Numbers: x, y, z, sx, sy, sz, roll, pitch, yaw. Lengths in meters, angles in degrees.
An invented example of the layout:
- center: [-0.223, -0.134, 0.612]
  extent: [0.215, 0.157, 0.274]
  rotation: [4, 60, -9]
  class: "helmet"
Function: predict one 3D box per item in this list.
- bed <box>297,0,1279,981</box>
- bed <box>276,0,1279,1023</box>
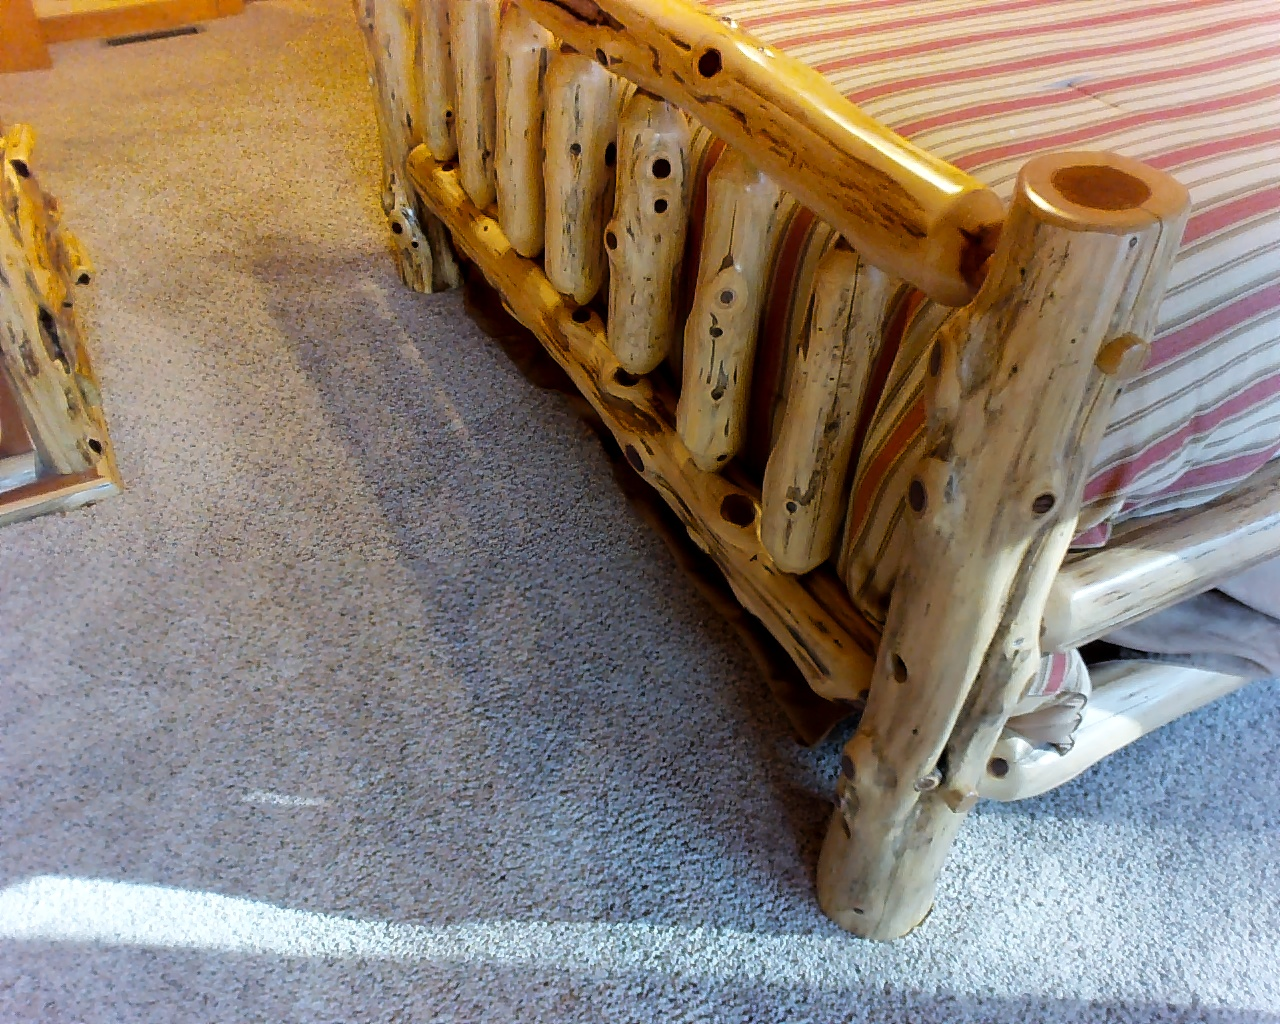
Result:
- center: [0.890, -0.760, 1.960]
  extent: [2.480, 0.910, 1.850]
  rotation: [-21, 47, -22]
  class: "bed"
- center: [0.810, -0.690, 1.890]
  extent: [2.300, 0.920, 2.030]
  rotation: [-21, 47, -22]
  class: "bed"
